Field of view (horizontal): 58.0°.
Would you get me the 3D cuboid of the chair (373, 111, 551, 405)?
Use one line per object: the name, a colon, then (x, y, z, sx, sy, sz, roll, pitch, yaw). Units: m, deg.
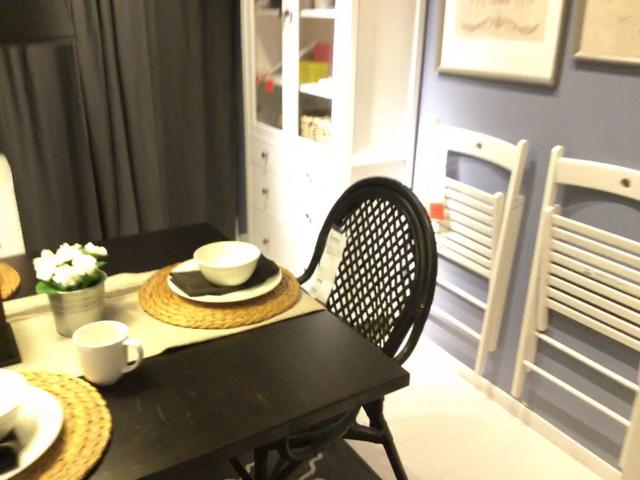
chair: (0.480, 0.040, 2.190, 0.110, 0.950, 0.630, -10, 24, -32)

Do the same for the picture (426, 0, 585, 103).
picture: (0.580, -0.830, 1.790, 0.090, 0.730, 0.510, -10, 24, -32)

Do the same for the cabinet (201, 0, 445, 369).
cabinet: (-0.080, -0.680, 2.560, 0.440, 2.090, 1.200, -10, 24, -32)

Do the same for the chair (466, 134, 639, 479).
chair: (0.790, 0.230, 1.710, 0.120, 0.970, 0.670, -10, 24, -32)

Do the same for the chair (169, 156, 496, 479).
chair: (-0.010, 0.240, 1.540, 0.570, 0.780, 0.580, -10, 24, -32)
